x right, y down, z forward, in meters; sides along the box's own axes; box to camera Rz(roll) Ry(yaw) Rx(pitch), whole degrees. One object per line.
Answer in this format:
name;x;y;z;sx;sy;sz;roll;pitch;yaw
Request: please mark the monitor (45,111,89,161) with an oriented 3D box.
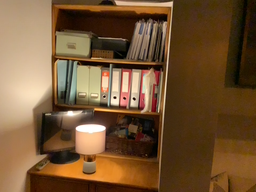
monitor;-0.450;0.290;1.590;0.330;0.320;0.030;-3;10;-38
